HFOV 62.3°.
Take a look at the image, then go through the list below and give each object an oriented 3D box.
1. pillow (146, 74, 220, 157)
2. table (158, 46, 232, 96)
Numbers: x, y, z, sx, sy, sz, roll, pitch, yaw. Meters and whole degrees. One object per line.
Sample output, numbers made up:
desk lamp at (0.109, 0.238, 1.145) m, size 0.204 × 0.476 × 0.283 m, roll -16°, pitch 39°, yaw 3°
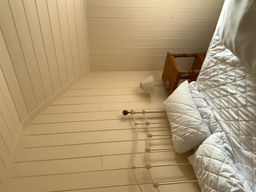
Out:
pillow at (0.570, 0.160, 2.150) m, size 0.710 × 0.470 × 0.320 m, roll -49°, pitch -26°, yaw -43°
table at (0.830, -0.330, 2.770) m, size 0.450 × 0.710 × 0.460 m, roll -101°, pitch 13°, yaw -48°
